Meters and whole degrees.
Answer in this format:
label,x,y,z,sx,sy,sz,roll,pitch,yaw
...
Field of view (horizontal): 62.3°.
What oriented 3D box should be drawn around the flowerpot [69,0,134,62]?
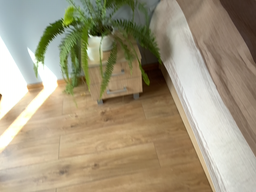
label,x,y,z,sx,sy,sz,roll,pitch,yaw
flowerpot,-0.180,-0.490,1.490,0.370,0.320,0.310,-10,46,-3
